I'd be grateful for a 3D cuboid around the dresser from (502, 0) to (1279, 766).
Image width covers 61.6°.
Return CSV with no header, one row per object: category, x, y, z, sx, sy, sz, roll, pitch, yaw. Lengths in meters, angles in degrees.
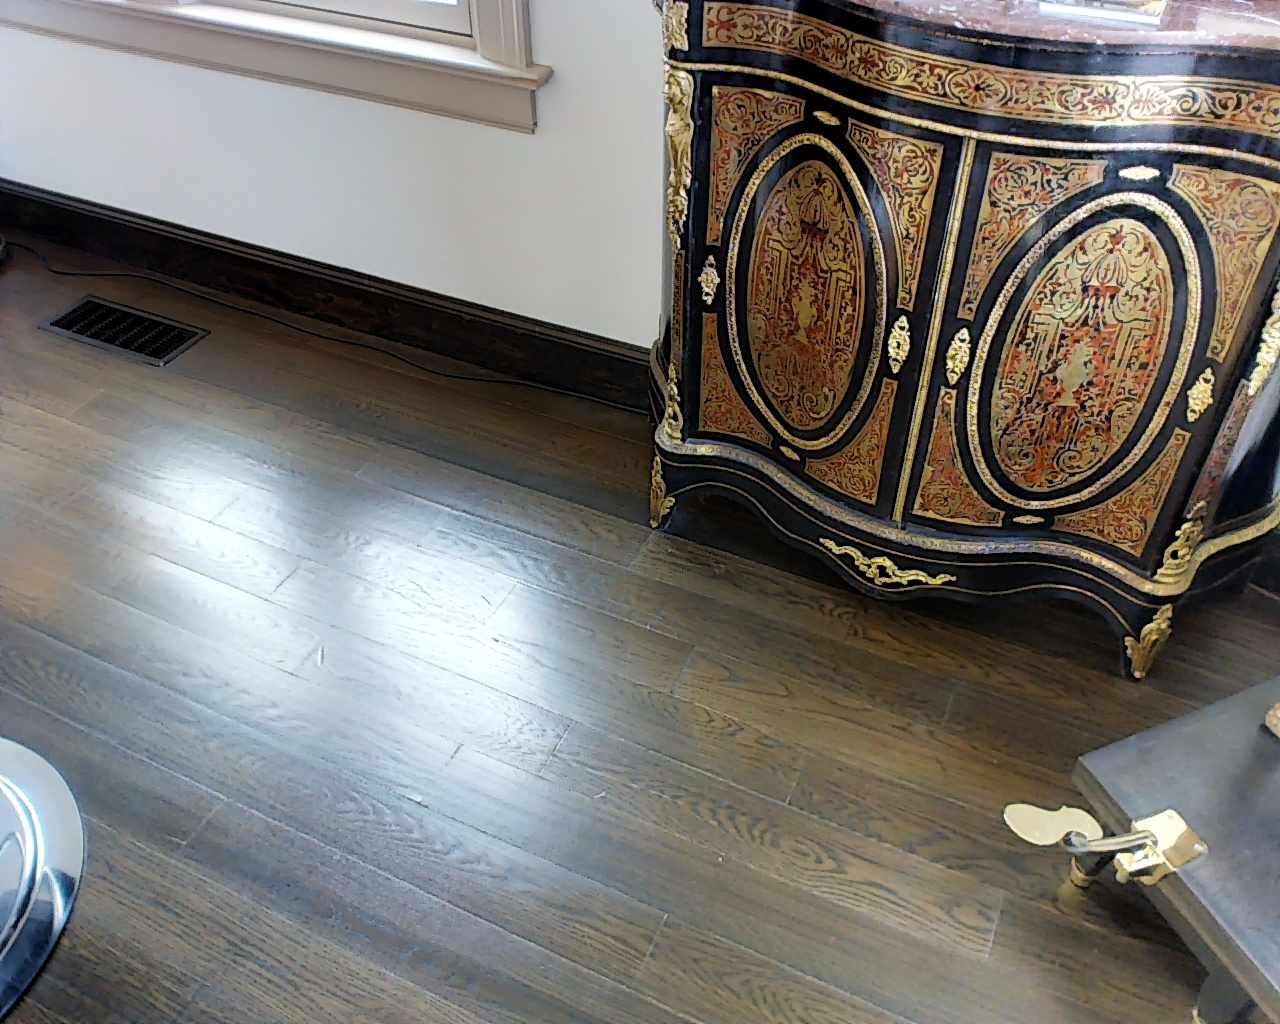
dresser,0.510,-0.320,1.840,1.330,1.080,0.510,18,45,19
